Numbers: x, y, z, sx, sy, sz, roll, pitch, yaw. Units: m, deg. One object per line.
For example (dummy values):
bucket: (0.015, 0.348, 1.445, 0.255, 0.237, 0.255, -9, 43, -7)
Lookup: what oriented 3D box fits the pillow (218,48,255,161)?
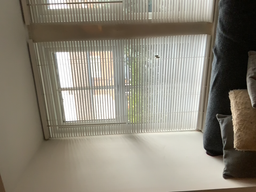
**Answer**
pillow: (0.910, 0.030, 1.390, 0.280, 0.440, 0.650, -139, 48, -68)
